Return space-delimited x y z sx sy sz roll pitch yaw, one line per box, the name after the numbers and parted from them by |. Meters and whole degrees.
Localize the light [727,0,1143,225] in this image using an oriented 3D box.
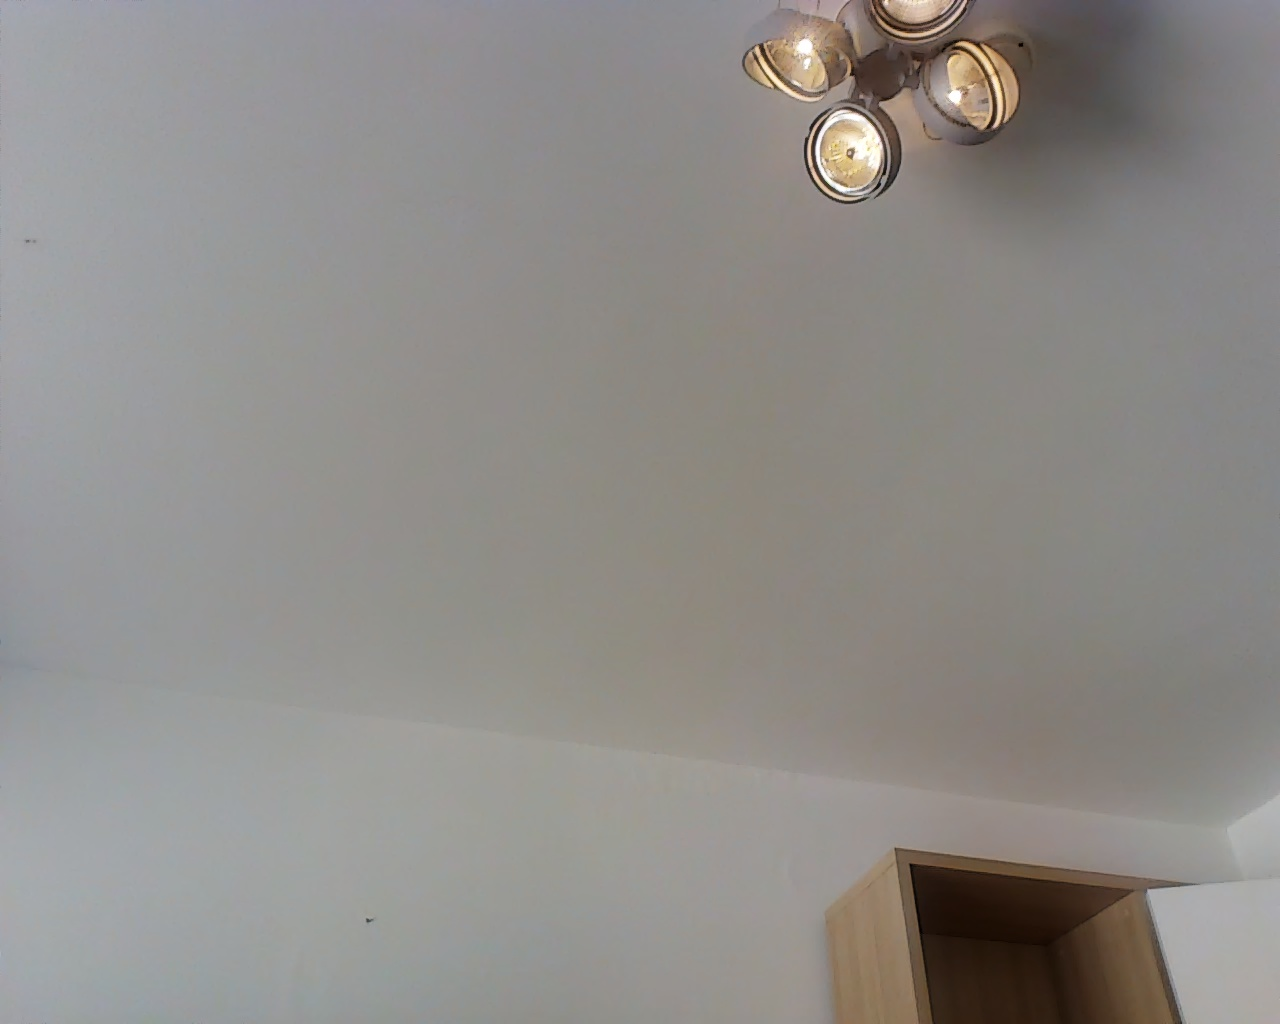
0.340 -0.560 1.380 0.360 0.210 0.410 10 28 -10 | light
